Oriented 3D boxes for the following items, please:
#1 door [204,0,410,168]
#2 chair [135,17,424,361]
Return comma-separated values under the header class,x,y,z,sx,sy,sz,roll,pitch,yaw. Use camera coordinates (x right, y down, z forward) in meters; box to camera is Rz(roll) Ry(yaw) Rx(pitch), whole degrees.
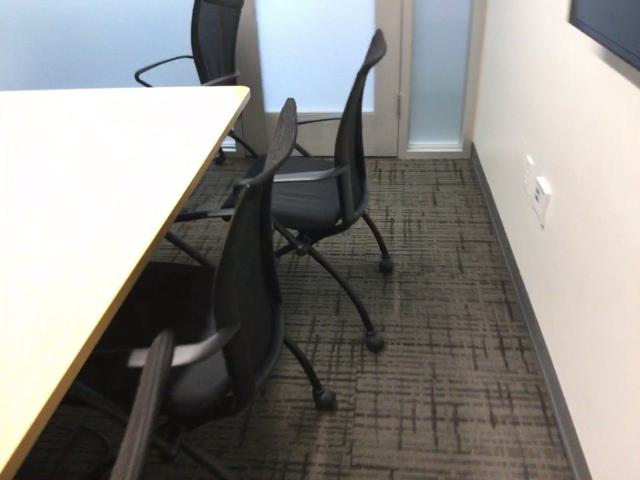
class,x,y,z,sx,sy,sz,roll,pitch,yaw
door,-0.060,-1.070,2.980,1.010,1.410,0.170,2,29,5
chair,-0.070,-0.180,1.910,0.720,0.960,0.580,2,29,5
